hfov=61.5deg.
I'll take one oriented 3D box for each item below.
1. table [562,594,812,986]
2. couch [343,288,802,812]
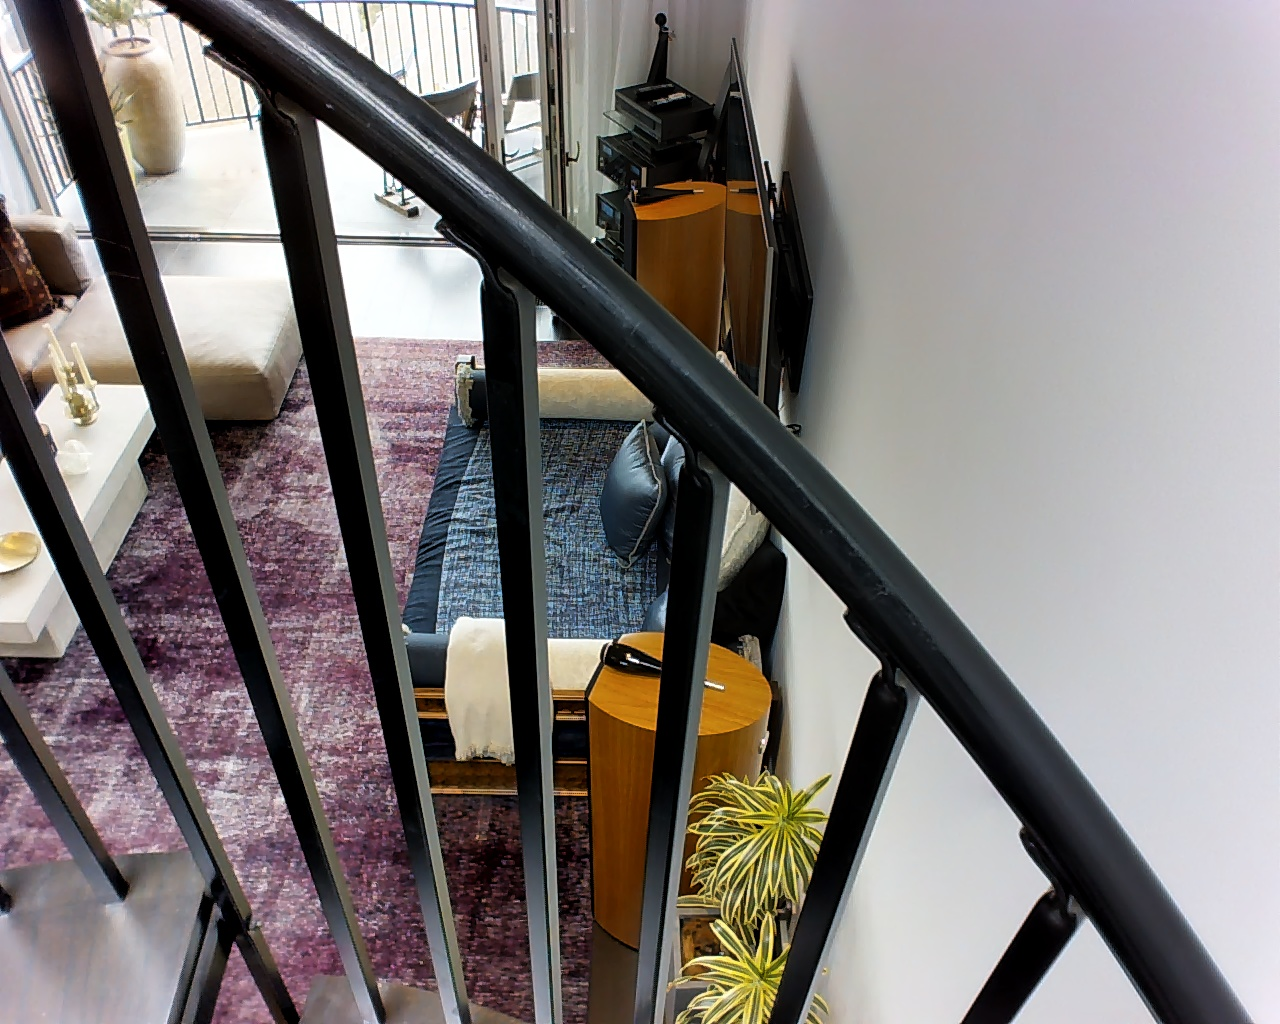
[{"bbox_3d":[0.110,0.820,3.030,0.530,1.160,0.360,14,44,13],"label":"table"},{"bbox_3d":[-0.180,0.050,4.080,1.320,0.900,1.860,2,42,0],"label":"couch"}]
